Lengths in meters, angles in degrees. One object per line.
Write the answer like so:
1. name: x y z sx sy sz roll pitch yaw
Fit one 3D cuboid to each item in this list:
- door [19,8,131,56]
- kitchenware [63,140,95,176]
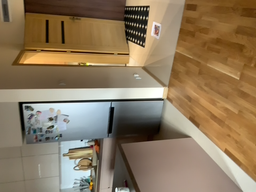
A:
1. door: -1.010 -1.280 4.310 0.100 2.120 0.910 127 139 -62
2. kitchenware: -0.890 1.120 3.820 0.160 0.540 0.610 -126 39 -60
